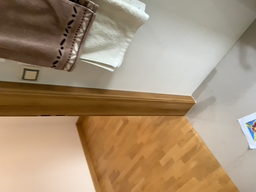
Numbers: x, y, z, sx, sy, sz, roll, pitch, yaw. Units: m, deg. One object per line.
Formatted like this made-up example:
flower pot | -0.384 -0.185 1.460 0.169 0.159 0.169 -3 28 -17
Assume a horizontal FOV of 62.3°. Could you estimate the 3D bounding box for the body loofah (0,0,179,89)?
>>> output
body loofah | -0.350 -0.290 0.690 0.490 1.010 0.150 -56 45 34
